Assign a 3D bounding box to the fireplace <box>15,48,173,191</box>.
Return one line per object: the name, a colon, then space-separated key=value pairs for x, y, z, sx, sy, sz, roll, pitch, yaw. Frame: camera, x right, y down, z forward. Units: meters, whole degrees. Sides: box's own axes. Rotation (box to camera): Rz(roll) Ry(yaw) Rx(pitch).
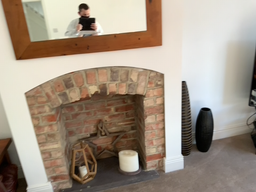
fireplace: x=-0.250 y=0.220 z=2.140 sx=1.190 sy=1.180 sz=0.710 roll=-8 pitch=21 yaw=-9
